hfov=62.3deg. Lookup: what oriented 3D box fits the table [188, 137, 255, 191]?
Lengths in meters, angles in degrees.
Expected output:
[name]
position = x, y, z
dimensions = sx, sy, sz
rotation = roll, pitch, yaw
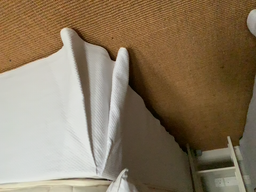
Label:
[table]
position = 0.920, 0.840, 2.070
dimensions = 0.470, 0.720, 0.400
rotation = -14, 152, 18
